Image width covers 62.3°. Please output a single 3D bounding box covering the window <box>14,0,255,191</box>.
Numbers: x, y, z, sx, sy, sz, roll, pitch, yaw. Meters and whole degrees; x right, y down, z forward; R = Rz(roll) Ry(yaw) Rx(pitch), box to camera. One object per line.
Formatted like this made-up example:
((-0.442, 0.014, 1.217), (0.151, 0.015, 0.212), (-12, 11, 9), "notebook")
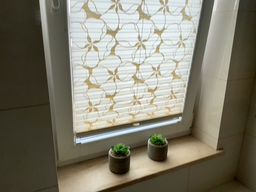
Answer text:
((0.100, -0.300, 0.830), (0.960, 1.520, 0.240), (-8, 20, -26), "window")
